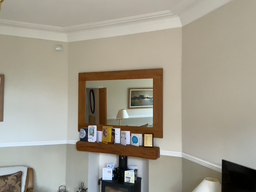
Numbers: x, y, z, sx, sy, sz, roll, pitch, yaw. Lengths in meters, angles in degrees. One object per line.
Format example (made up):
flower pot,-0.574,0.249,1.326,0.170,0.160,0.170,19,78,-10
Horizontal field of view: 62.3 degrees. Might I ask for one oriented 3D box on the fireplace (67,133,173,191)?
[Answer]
fireplace,-0.080,1.190,3.040,1.260,1.120,0.850,0,-2,24
